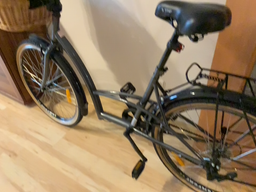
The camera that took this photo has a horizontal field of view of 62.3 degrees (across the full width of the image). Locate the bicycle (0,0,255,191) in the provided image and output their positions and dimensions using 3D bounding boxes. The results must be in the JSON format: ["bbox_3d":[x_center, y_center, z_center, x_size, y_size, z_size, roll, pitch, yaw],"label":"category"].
[{"bbox_3d":[0.010,-0.060,1.060,1.650,1.020,0.520,22,46,26],"label":"bicycle"}]
